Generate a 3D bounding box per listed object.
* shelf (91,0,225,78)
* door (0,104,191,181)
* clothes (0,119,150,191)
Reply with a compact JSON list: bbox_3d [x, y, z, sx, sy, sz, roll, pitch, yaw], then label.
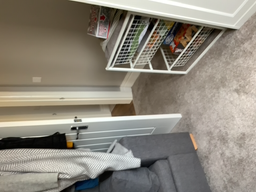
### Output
[{"bbox_3d":[0.160,-0.530,1.600,0.600,0.700,0.510,123,140,-52],"label":"shelf"},{"bbox_3d":[-0.530,0.400,1.740,0.820,2.010,0.140,115,146,-45],"label":"door"},{"bbox_3d":[-0.640,0.540,1.520,0.850,1.320,0.320,121,141,-51],"label":"clothes"}]
